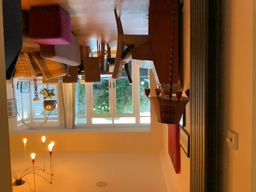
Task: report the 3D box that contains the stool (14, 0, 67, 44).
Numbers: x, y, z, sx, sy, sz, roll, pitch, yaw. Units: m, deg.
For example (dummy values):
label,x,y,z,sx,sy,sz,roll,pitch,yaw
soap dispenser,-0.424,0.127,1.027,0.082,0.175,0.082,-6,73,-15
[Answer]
label,x,y,z,sx,sy,sz,roll,pitch,yaw
stool,-1.100,-0.950,2.740,0.460,0.440,0.460,-2,-176,1

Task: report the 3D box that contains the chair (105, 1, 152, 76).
label,x,y,z,sx,sy,sz,roll,pitch,yaw
chair,0.010,-0.770,3.010,0.580,0.950,0.410,-2,-176,0

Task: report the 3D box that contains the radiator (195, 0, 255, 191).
label,x,y,z,sx,sy,sz,roll,pitch,yaw
radiator,0.530,-0.060,1.180,0.150,1.850,0.440,-2,-176,0
